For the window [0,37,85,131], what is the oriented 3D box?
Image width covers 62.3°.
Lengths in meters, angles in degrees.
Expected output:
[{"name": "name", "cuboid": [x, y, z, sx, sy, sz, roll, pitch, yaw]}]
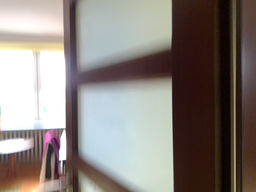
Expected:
[{"name": "window", "cuboid": [-1.870, -0.250, 4.440, 1.860, 1.860, 0.250, -1, 1, -9]}]

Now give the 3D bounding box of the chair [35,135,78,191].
[{"name": "chair", "cuboid": [-0.990, 1.060, 3.000, 0.470, 0.900, 0.480, -1, 1, -6]}]
